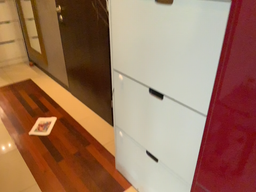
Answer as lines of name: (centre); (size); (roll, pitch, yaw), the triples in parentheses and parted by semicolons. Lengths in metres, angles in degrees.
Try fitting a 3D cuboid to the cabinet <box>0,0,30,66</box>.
cabinet: (-2.130, -1.080, 3.610); (0.610, 1.070, 0.170); (-24, 38, -35)
